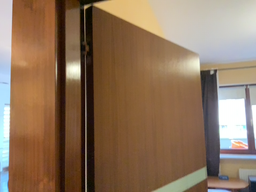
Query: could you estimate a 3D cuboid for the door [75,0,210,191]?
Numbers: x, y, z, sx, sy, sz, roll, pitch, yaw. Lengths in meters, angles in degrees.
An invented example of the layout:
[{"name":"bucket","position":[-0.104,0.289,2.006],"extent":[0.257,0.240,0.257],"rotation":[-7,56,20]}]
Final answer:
[{"name":"door","position":[0.170,0.720,0.900],"extent":[0.040,2.180,0.900],"rotation":[-6,-7,41]}]
